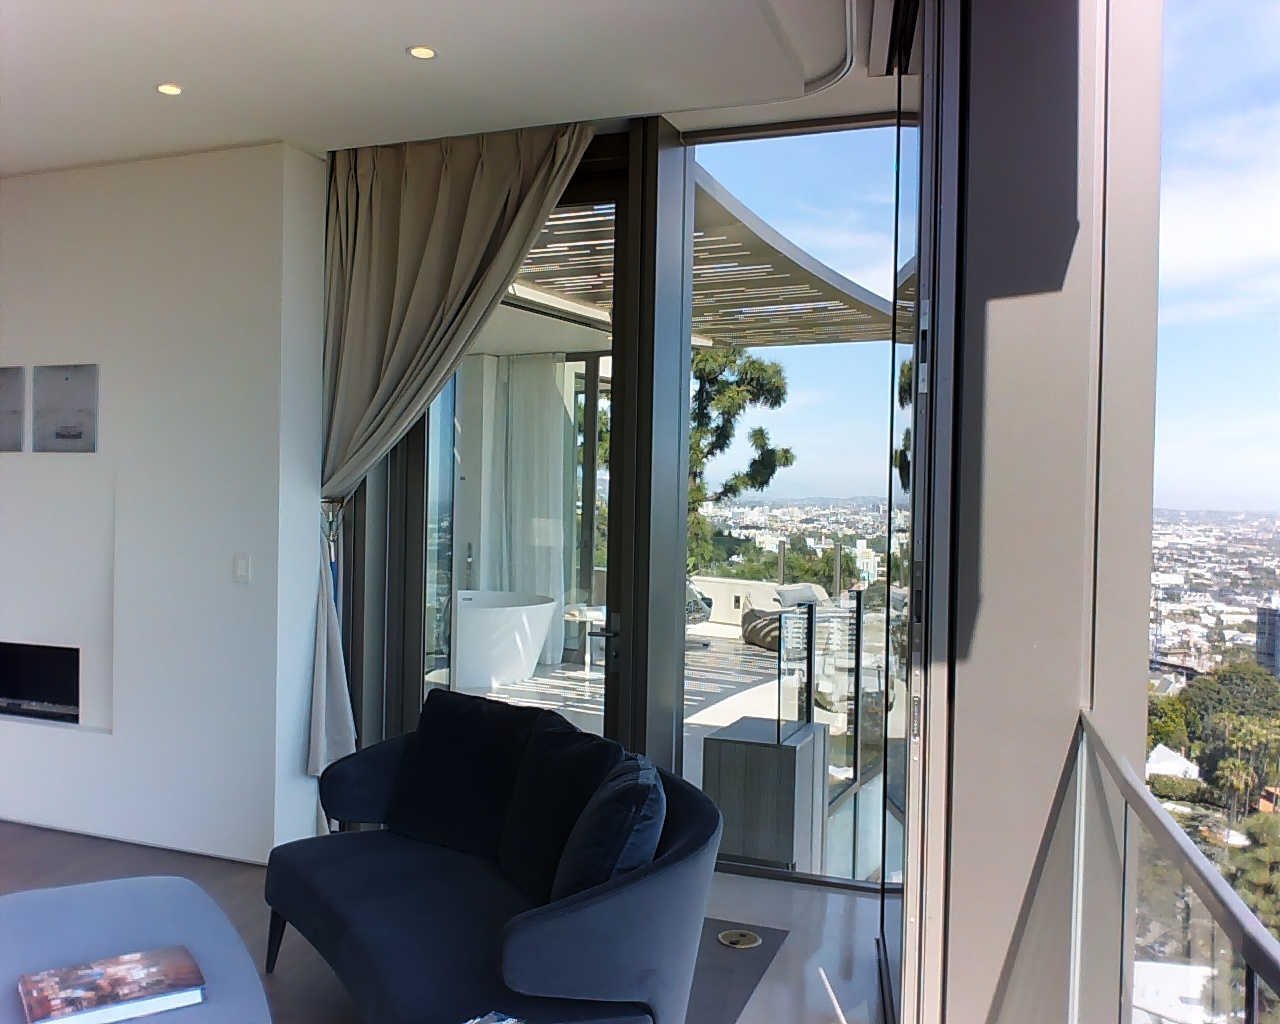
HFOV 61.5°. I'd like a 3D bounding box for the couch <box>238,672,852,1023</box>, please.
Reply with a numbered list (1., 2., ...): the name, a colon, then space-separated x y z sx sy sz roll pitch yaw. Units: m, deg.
1. couch: -0.390 1.050 3.140 1.080 0.850 1.690 1 1 -34
